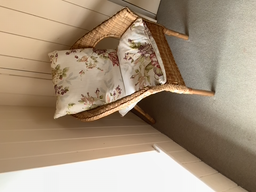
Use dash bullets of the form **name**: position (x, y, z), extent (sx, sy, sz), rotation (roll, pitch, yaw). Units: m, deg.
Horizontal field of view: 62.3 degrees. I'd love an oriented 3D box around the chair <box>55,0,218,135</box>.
- **chair**: position (0.030, -0.150, 1.450), extent (0.600, 0.780, 0.600), rotation (-40, 58, 40)
